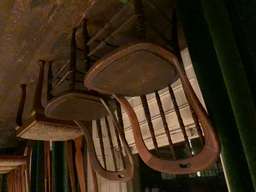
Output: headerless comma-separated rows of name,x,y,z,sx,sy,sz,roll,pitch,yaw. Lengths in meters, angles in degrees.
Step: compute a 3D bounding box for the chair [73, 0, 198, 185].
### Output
chair,-0.010,0.000,1.200,0.440,0.880,0.430,11,152,-34
